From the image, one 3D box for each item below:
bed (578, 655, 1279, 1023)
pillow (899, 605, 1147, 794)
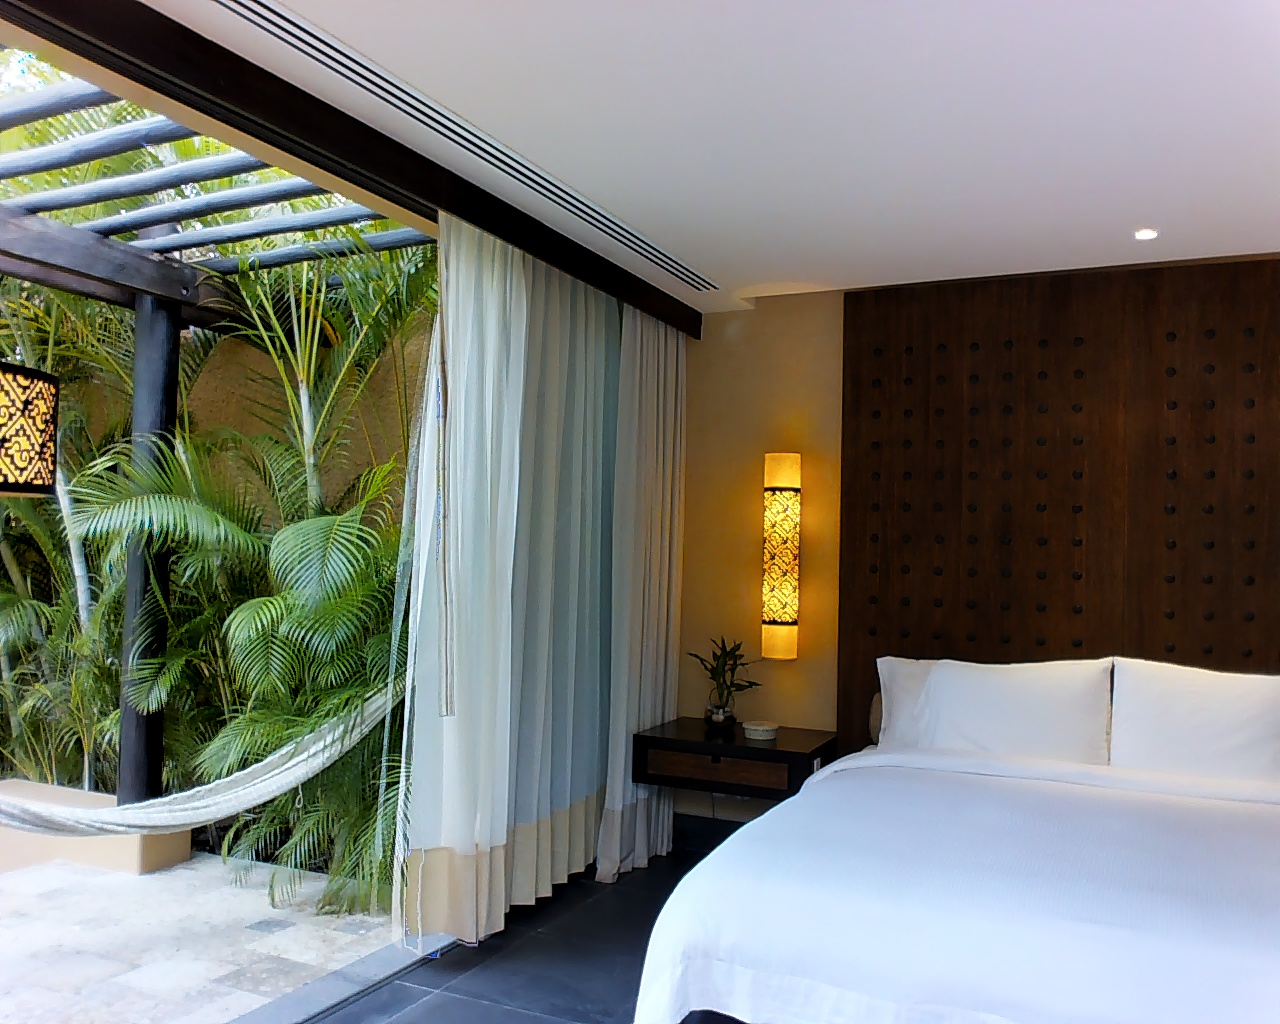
[{"bbox_3d":[1.519,1.040,3.090,2.539,0.900,2.390,0,-2,26],"label":"bed"},{"bbox_3d":[1.389,0.680,3.920,0.710,0.470,0.260,-22,-11,23],"label":"pillow"}]
